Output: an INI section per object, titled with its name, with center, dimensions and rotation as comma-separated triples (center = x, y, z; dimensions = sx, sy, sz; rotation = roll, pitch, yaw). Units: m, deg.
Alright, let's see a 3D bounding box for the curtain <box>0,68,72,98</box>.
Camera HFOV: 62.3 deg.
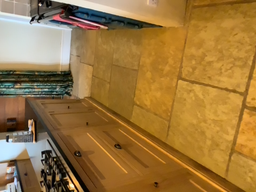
[curtain]
center = -1.970, -0.220, 3.500
dimensions = 0.250, 2.020, 0.440
rotation = 24, 110, 52
